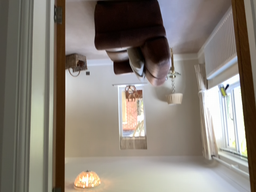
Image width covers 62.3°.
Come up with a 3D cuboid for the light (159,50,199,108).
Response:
[{"bbox_3d":[1.090,-0.350,4.610,0.720,1.200,0.380,-2,173,3],"label":"light"}]
